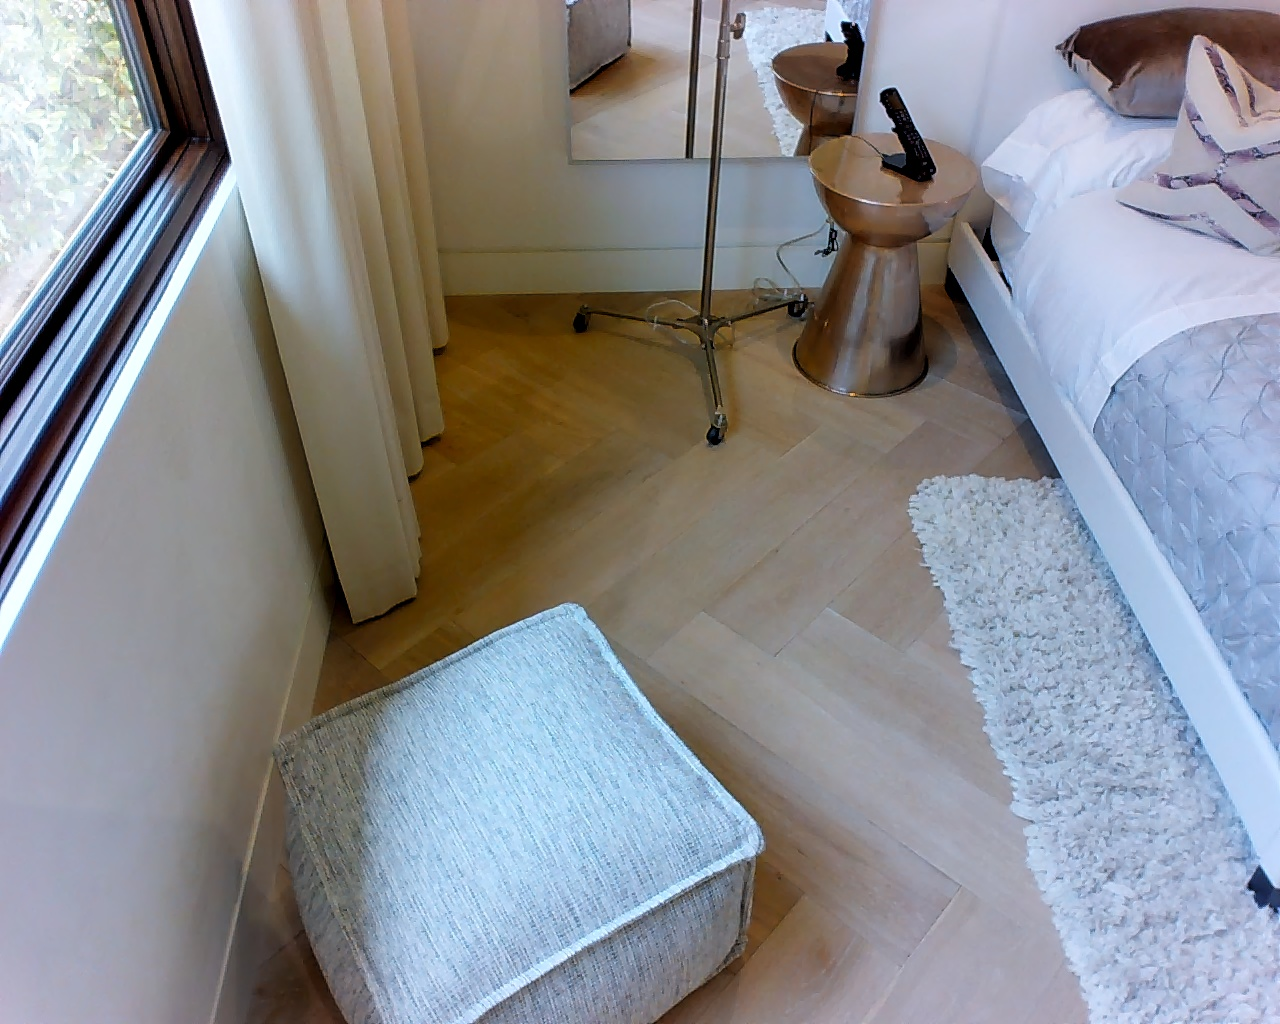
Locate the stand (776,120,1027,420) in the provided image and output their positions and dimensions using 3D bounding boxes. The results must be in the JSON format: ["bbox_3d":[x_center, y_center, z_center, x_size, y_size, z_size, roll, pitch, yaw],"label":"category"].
[{"bbox_3d":[0.640,-0.630,2.790,0.440,0.580,0.490,-3,43,-3],"label":"stand"}]
